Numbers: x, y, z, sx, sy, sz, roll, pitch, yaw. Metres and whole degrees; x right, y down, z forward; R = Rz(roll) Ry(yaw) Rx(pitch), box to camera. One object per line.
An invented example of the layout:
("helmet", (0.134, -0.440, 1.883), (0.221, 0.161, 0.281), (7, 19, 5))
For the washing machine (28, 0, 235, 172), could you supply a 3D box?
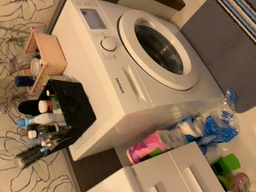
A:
("washing machine", (0.020, -0.100, 1.260), (0.630, 0.850, 0.650), (-44, 64, 37))
